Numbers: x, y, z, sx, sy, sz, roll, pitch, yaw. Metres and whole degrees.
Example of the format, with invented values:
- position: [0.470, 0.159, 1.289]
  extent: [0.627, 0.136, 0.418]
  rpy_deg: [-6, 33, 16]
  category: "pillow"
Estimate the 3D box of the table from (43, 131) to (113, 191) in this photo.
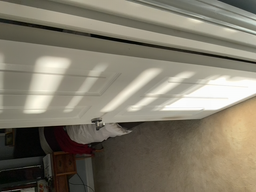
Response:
- position: [-0.770, 1.230, 3.130]
  extent: [0.760, 0.750, 1.170]
  rpy_deg: [-44, 52, 50]
  category: "table"
